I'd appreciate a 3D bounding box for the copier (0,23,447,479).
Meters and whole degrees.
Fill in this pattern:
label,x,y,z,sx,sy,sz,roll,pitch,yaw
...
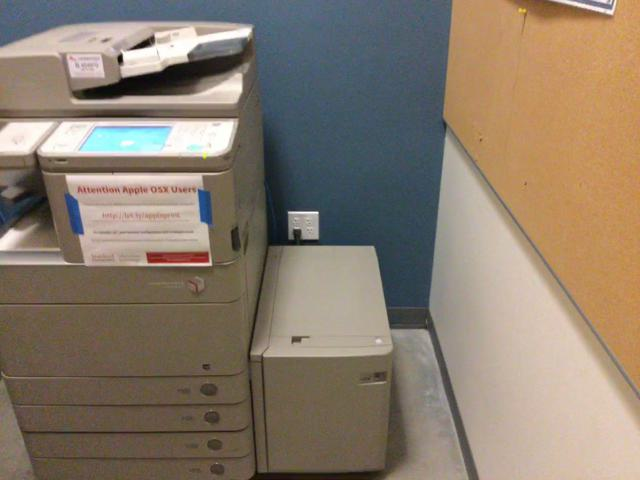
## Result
label,x,y,z,sx,sy,sz,roll,pitch,yaw
copier,-0.350,0.050,1.650,1.160,1.190,0.680,1,25,-1
